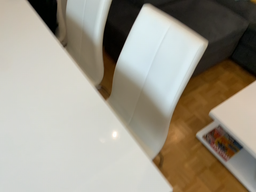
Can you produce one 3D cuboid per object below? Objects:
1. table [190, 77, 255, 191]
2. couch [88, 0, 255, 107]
[{"bbox_3d":[0.890,0.260,1.370,0.630,0.320,0.620,-27,57,-24],"label":"table"},{"bbox_3d":[0.320,-0.700,1.780,0.960,0.860,0.960,-27,57,-24],"label":"couch"}]
